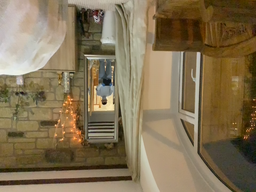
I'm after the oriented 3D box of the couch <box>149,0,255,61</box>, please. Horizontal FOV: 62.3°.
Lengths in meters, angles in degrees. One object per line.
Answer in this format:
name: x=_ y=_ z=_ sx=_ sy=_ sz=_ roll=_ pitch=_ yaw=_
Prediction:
couch: x=0.570 y=-0.690 z=1.560 sx=0.580 sy=0.760 sz=1.060 roll=0 pitch=-175 yaw=-9
